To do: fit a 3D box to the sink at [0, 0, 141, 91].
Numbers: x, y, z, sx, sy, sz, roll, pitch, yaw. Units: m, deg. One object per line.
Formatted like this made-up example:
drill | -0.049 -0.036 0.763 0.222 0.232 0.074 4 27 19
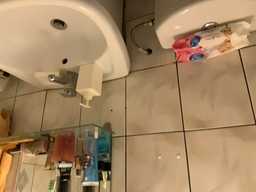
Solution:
sink | -0.300 -0.230 0.750 0.560 0.190 0.450 -9 157 22
